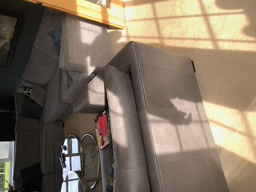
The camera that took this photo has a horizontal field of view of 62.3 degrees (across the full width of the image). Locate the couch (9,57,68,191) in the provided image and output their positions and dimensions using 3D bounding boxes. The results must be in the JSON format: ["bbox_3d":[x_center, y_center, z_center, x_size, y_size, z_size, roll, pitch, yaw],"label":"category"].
[{"bbox_3d":[-1.890,1.030,4.350,1.230,0.790,3.360,-32,60,49],"label":"couch"}]

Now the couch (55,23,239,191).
[{"bbox_3d":[0.010,0.400,1.700,1.130,0.800,1.300,-33,60,49],"label":"couch"}]

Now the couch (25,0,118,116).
[{"bbox_3d":[-1.090,-0.560,3.470,2.100,0.710,1.210,-32,60,49],"label":"couch"}]
